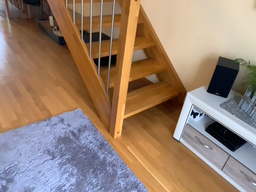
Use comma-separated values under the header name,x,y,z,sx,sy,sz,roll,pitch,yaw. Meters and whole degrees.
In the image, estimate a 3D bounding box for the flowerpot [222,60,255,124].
name,x,y,z,sx,sy,sz,roll,pitch,yaw
flowerpot,0.970,-0.040,1.550,0.320,0.320,0.310,-19,43,-34
